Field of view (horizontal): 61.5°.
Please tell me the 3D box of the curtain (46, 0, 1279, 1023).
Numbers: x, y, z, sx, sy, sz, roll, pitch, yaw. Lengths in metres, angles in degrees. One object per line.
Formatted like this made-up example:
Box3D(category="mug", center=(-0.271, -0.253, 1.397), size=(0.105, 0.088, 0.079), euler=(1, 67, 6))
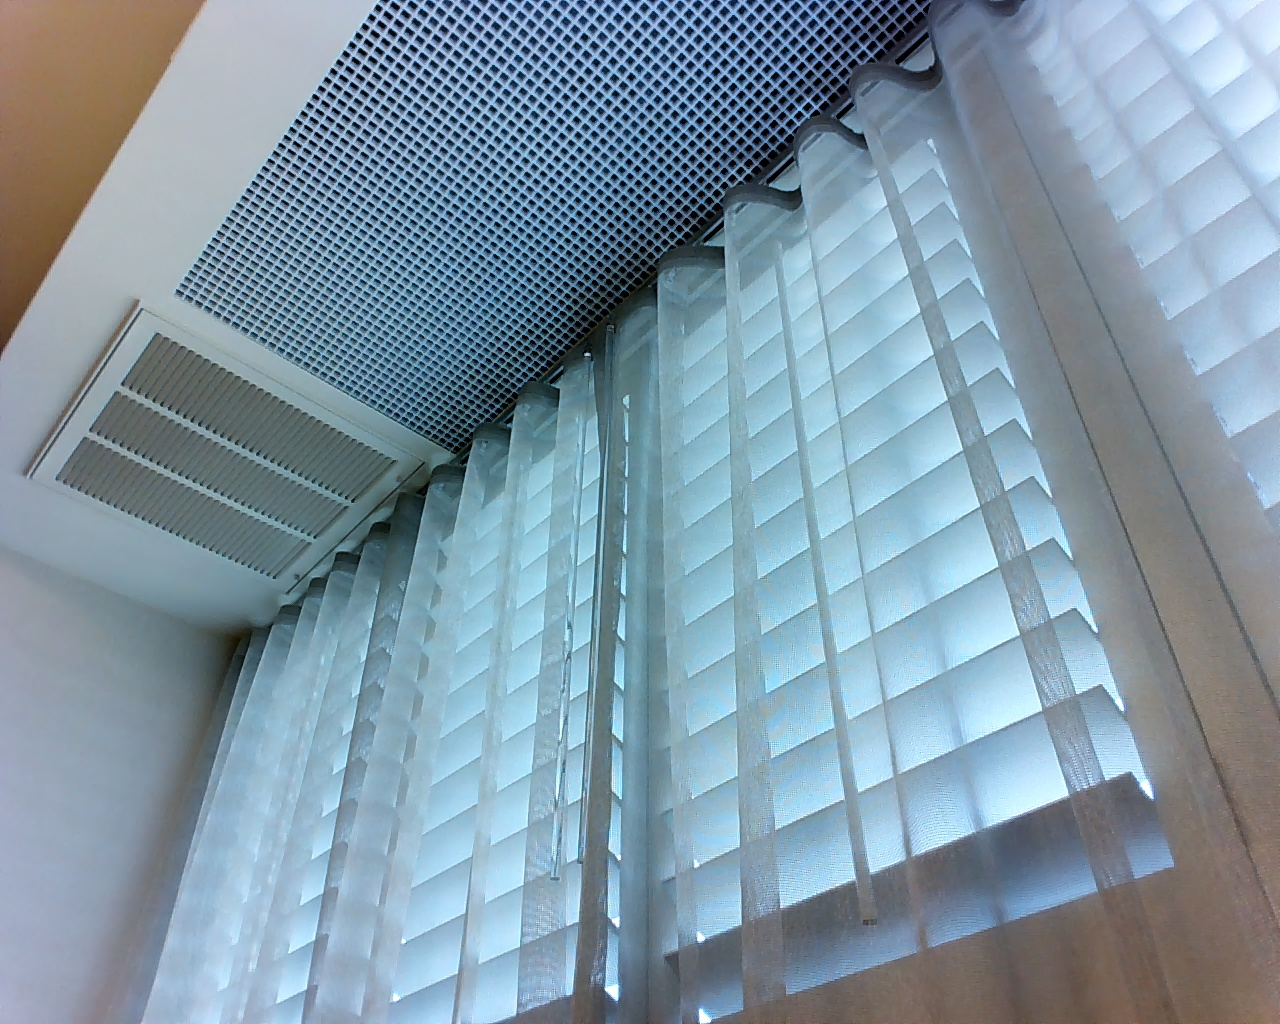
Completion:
Box3D(category="curtain", center=(-0.050, 0.440, 1.110), size=(0.300, 2.140, 2.710), euler=(31, -50, -29))
